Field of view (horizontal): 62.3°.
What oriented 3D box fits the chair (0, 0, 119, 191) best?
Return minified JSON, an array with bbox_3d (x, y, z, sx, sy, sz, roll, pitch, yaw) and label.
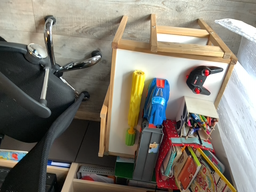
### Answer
[{"bbox_3d":[-0.520,0.120,0.930,0.580,1.160,0.610,37,119,-18],"label":"chair"}]
